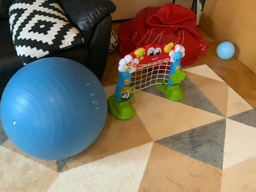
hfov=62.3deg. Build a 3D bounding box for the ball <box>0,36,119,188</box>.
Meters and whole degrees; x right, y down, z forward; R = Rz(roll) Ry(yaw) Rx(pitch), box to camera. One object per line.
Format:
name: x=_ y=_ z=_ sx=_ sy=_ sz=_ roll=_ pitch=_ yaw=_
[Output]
ball: x=-0.380 y=0.060 z=1.110 sx=0.520 sy=0.500 sz=0.500 roll=-10 pitch=47 yaw=-16
